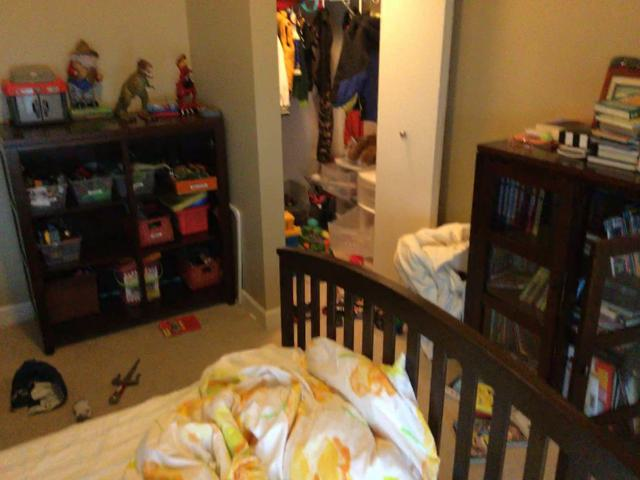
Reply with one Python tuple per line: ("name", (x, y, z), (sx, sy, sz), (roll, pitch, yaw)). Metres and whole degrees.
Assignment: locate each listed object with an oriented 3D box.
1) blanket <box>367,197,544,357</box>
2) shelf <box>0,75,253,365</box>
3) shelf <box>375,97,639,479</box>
("blanket", (0.620, 0.140, 2.730), (0.620, 0.490, 0.490), (-13, 24, -28))
("shelf", (-0.950, -0.160, 2.850), (1.040, 1.170, 0.510), (-13, 24, -28))
("shelf", (0.870, 0.150, 2.070), (0.850, 1.130, 1.090), (-13, 24, -28))
